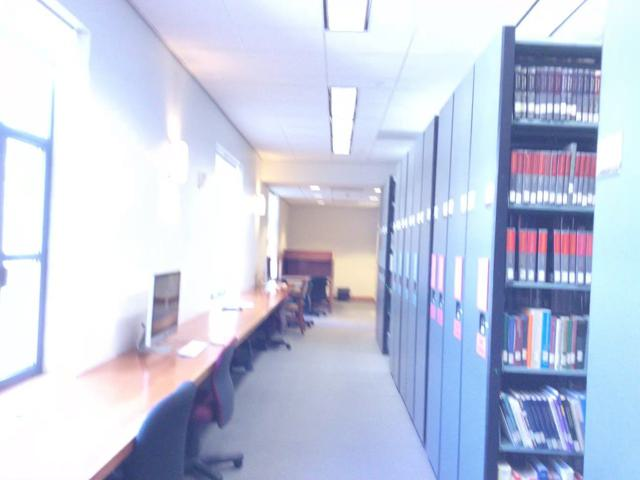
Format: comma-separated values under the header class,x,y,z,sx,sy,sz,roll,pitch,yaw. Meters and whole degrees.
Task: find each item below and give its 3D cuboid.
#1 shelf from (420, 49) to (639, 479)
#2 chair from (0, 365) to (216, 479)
class,x,y,z,sx,sy,sz,roll,pitch,yaw
shelf,1.120,0.410,3.330,0.780,2.410,1.790,2,-1,2
chair,-0.810,1.040,2.330,0.610,0.910,0.660,2,-1,2
